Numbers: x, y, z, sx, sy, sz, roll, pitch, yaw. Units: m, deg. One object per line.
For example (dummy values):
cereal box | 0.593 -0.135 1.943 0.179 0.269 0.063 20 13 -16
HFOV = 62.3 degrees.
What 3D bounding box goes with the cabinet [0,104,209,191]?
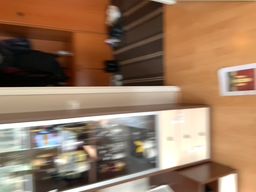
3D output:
cabinet | -0.280 0.320 1.340 0.340 1.960 0.440 0 92 59
